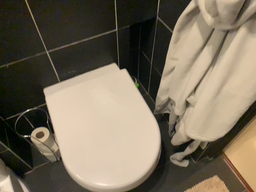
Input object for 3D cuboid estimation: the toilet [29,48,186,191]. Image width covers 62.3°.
[{"bbox_3d":[-0.110,0.130,0.940,0.410,0.300,0.540,-24,59,-17],"label":"toilet"}]
